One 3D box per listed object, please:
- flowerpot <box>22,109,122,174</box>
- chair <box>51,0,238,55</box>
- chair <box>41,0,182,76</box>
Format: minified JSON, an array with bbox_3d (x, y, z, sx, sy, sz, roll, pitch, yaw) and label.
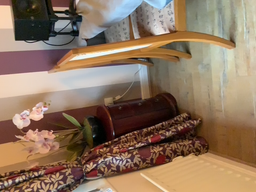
[{"bbox_3d":[-0.450,0.330,1.740,0.330,0.710,0.290,8,105,63],"label":"flowerpot"},{"bbox_3d":[0.100,-0.520,1.210,0.460,0.960,0.510,19,115,61],"label":"chair"},{"bbox_3d":[-0.120,-0.480,1.680,0.480,0.960,0.550,11,108,63],"label":"chair"}]
